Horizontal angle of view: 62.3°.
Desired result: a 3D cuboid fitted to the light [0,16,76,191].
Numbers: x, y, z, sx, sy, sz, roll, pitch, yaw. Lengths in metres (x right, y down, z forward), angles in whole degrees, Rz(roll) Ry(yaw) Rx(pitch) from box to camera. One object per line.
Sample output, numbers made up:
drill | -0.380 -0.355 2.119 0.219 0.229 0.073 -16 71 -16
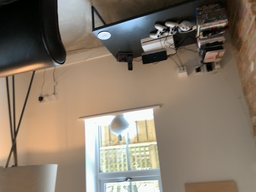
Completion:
light | -0.890 0.210 1.700 0.760 1.440 0.500 -9 163 13

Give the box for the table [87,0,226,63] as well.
table | 0.260 -0.640 1.910 1.050 0.250 0.640 -9 163 15
